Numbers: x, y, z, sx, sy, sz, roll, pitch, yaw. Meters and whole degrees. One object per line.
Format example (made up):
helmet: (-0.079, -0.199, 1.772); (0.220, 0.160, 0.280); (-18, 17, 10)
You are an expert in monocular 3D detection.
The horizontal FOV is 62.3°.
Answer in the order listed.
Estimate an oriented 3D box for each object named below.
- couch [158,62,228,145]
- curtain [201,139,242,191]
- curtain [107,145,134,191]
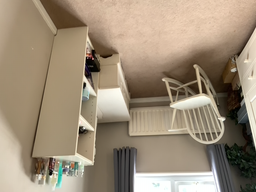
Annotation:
couch: (0.730, 0.120, 2.430); (0.500, 0.720, 0.540); (-20, 149, 34)
curtain: (1.050, 1.190, 2.240); (0.280, 1.420, 0.230); (-4, 155, 7)
curtain: (-0.080, 1.280, 2.370); (0.290, 1.400, 0.180); (-3, 155, 4)
